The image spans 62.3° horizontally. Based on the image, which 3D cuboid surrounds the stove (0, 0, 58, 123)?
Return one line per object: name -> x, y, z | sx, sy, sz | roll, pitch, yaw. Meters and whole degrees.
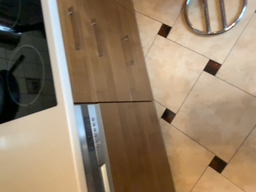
stove -> -0.530, -0.200, 0.870 | 0.550, 0.020, 0.600 | -16, 82, 29
